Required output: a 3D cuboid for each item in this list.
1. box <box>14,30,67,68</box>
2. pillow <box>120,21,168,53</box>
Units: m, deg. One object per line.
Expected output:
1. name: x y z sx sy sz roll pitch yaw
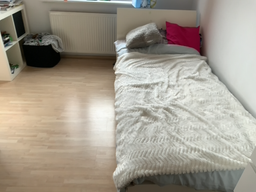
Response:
1. box: -1.270 -0.700 3.160 0.590 0.430 0.340 1 34 -4
2. pillow: 0.180 -0.750 2.670 0.540 0.280 0.350 0 34 -5
